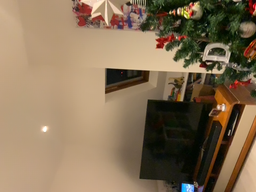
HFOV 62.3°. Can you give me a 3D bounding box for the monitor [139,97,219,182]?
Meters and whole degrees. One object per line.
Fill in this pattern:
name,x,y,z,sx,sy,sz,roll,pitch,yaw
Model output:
monitor,0.680,0.710,3.120,0.070,0.930,1.470,-86,0,-62
